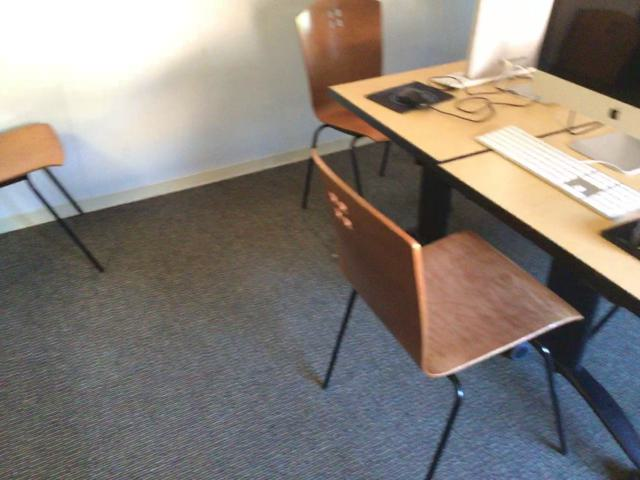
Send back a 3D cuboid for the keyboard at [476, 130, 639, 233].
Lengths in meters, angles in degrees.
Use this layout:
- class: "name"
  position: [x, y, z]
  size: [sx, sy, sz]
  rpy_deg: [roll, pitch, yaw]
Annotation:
- class: "keyboard"
  position: [0.510, -0.140, 1.230]
  size: [0.110, 0.020, 0.420]
  rpy_deg: [-17, 37, -19]
